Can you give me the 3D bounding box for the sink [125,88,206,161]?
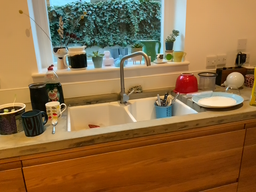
[{"bbox_3d":[0.210,0.150,1.380,0.340,0.260,0.460,-7,19,-14],"label":"sink"}]
